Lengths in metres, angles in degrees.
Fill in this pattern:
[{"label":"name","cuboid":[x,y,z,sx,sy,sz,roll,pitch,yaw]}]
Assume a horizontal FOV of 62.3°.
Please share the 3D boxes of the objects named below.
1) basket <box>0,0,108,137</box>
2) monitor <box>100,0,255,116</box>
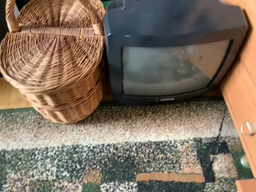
[{"label":"basket","cuboid":[-0.220,-0.100,0.700,0.280,0.270,0.370,-3,58,-4]},{"label":"monitor","cuboid":[0.110,-0.190,0.720,0.380,0.350,0.360,-5,58,-5]}]
